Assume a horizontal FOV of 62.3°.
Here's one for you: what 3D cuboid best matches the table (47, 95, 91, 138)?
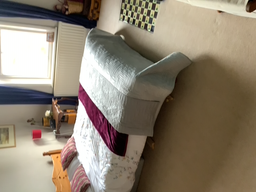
[{"bbox_3d":[-1.240,0.390,4.400,0.640,0.690,0.600,41,126,51],"label":"table"}]
